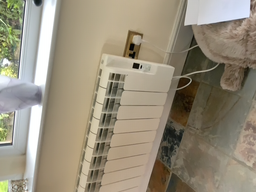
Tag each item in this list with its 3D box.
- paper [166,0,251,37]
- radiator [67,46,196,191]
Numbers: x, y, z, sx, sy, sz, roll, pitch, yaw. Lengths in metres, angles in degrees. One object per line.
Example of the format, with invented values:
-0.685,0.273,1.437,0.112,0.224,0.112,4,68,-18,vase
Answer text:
0.380,-0.480,0.990,0.350,0.110,0.350,27,110,49,paper
0.010,0.280,1.250,0.150,0.610,1.020,29,111,49,radiator
